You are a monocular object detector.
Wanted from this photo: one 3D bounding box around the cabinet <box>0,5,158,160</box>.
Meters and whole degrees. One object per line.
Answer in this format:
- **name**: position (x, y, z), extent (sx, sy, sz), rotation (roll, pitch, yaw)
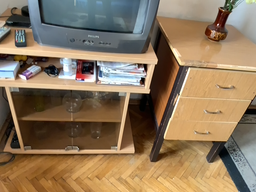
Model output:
- **cabinet**: position (-0.340, -0.070, 1.360), extent (0.800, 0.740, 0.590), rotation (2, 38, -10)
